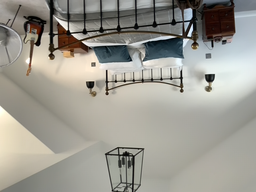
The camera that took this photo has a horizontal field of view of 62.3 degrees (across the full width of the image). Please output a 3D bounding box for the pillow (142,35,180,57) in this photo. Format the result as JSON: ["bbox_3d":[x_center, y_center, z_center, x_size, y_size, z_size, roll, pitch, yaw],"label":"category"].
[{"bbox_3d":[0.470,-0.710,3.060,0.510,0.260,0.270,-1,-170,9],"label":"pillow"}]

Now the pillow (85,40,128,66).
[{"bbox_3d":[-0.310,-0.650,3.220,0.580,0.370,0.150,1,-132,7],"label":"pillow"}]

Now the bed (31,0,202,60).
[{"bbox_3d":[0.010,-1.080,2.940,1.640,0.680,1.940,-3,178,11],"label":"bed"}]
